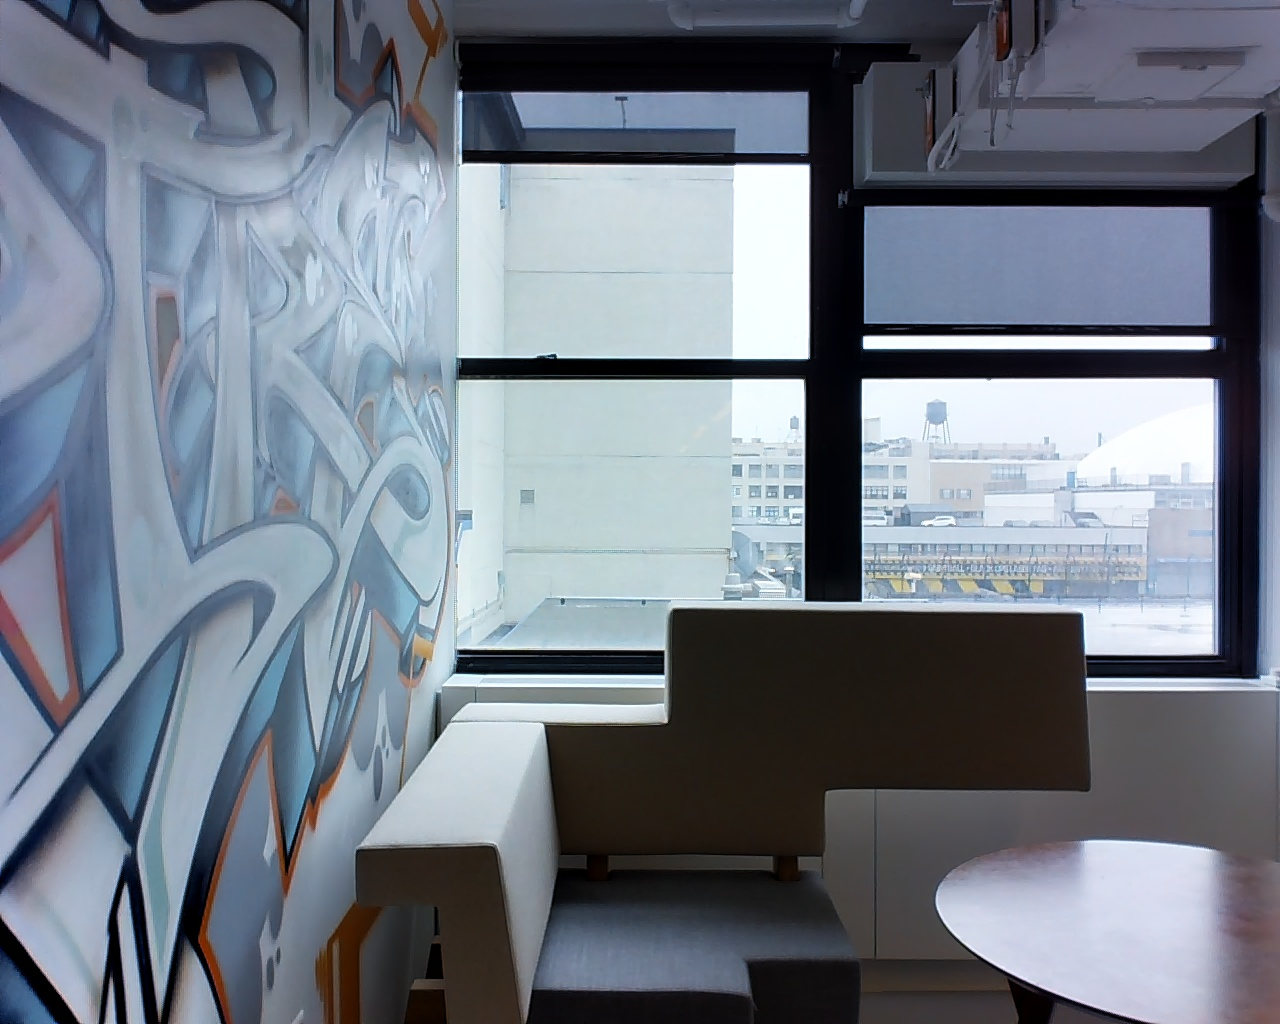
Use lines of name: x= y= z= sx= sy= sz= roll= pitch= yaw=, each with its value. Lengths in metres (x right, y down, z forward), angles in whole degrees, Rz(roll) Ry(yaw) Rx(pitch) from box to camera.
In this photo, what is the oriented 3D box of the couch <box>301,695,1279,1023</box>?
couch: x=0.290 y=0.980 z=2.520 sx=1.770 sy=0.880 sz=1.260 roll=0 pitch=0 yaw=1
